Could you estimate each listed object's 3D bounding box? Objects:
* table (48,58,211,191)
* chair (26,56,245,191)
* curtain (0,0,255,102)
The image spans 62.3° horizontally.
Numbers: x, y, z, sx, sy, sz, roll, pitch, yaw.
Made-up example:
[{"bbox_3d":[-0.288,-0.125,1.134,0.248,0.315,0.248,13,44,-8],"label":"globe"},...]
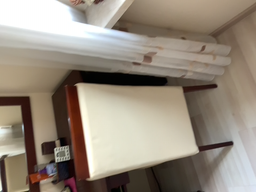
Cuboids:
[{"bbox_3d":[-0.020,0.330,1.470,0.530,0.760,0.970,-35,65,47],"label":"table"},{"bbox_3d":[0.070,0.160,1.150,0.530,1.000,0.460,-28,69,48],"label":"chair"},{"bbox_3d":[-0.590,-0.230,0.490,0.590,2.900,0.310,-35,64,46],"label":"curtain"}]
